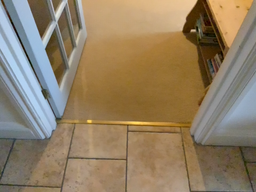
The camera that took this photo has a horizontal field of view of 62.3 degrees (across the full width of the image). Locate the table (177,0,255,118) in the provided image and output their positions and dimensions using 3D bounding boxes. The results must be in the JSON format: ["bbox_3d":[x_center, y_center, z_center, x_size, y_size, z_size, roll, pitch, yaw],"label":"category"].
[{"bbox_3d":[0.640,-0.420,1.470,0.370,0.510,1.010,2,53,-1],"label":"table"}]
